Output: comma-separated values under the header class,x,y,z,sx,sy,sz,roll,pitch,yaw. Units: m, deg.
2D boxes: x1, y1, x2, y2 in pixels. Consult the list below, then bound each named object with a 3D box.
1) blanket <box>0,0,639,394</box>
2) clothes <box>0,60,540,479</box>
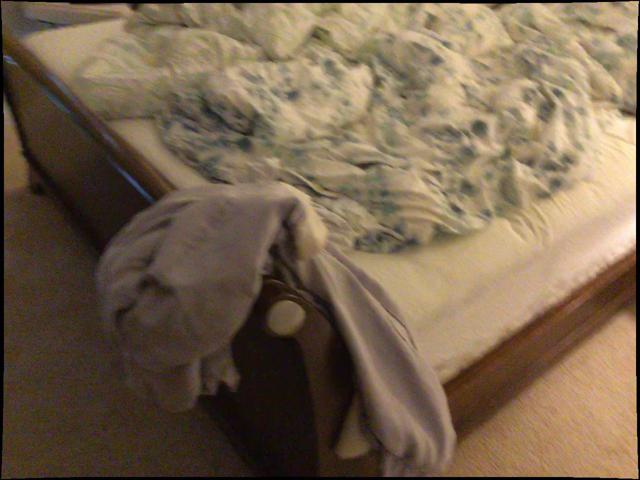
class,x,y,z,sx,sy,sz,roll,pitch,yaw
blanket,0.239,-0.692,1.840,2.118,0.421,1.539,-26,47,-31
clothes,-0.100,0.200,1.050,0.559,0.781,0.540,-26,47,-31
